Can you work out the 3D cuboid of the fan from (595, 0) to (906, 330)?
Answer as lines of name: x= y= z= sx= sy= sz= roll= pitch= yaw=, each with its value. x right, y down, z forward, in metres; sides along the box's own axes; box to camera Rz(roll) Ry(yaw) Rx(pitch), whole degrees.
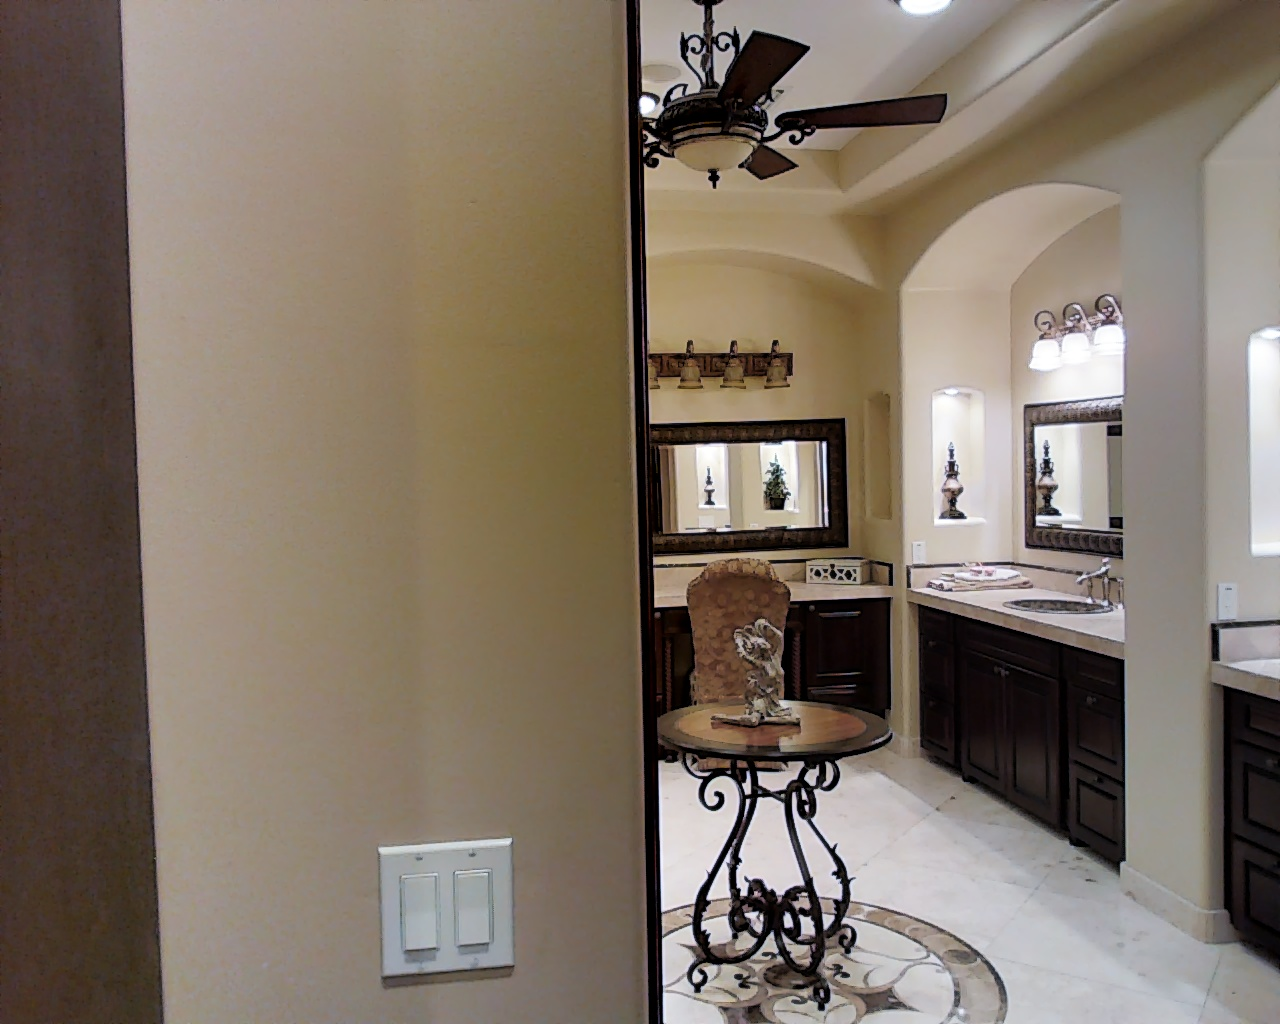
fan: x=0.250 y=-1.330 z=3.290 sx=0.580 sy=1.340 sz=1.420 roll=-1 pitch=2 yaw=-10
